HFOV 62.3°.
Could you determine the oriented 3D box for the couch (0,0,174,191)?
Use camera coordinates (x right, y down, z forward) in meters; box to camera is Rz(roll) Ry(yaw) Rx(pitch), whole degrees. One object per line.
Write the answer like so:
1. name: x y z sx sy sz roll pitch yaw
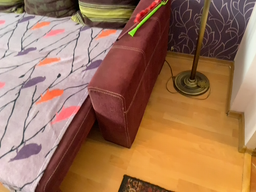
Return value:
1. couch: -1.050 -0.360 1.620 2.490 0.780 1.530 12 51 15
